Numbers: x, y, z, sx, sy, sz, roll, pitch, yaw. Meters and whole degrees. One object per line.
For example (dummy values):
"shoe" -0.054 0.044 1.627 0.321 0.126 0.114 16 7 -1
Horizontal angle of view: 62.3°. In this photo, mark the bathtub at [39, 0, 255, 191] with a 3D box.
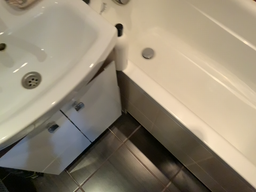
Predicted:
"bathtub" 0.340 -0.100 1.120 1.450 0.570 0.680 43 74 15

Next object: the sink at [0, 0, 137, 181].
"sink" -0.290 -0.090 0.590 0.370 0.140 0.520 42 74 15
